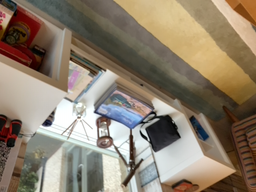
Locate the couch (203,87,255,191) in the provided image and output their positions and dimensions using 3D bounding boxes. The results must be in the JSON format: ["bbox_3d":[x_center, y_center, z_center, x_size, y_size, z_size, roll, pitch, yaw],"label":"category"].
[{"bbox_3d":[1.250,0.440,1.720,0.860,0.780,0.780,-23,132,9],"label":"couch"}]
